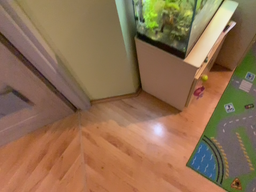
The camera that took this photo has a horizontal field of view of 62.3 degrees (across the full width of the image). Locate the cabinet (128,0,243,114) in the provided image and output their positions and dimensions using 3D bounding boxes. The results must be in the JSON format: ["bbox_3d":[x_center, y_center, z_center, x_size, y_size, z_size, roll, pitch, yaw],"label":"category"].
[{"bbox_3d":[0.310,-0.260,1.260,0.370,0.580,0.450,29,73,18],"label":"cabinet"}]
